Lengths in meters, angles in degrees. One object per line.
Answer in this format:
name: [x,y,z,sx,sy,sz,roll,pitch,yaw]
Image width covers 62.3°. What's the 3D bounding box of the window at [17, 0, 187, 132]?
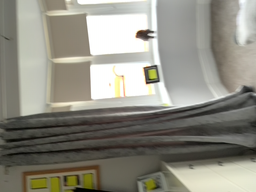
window: [-0.290,-0.740,2.440,0.900,1.500,2.060,155,111,-86]
